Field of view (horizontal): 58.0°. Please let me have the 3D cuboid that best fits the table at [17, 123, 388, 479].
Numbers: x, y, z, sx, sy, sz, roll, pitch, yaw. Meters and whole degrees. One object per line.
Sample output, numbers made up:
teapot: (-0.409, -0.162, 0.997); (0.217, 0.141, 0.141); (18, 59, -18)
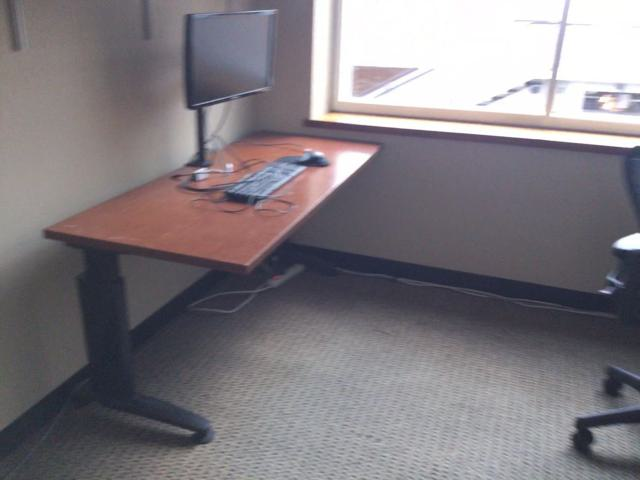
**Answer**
table: (-0.270, 0.050, 2.370); (0.780, 0.800, 1.510); (6, 21, 17)
